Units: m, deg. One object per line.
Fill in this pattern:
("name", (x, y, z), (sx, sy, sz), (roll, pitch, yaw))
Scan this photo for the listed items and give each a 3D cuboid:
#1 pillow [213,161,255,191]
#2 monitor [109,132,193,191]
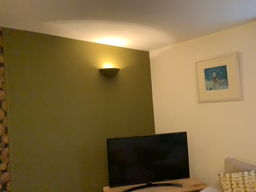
("pillow", (1.100, 0.920, 2.040), (0.430, 0.370, 0.190), (28, 6, 30))
("monitor", (0.280, 0.770, 2.540), (0.990, 0.600, 0.040), (-3, -1, -9))
